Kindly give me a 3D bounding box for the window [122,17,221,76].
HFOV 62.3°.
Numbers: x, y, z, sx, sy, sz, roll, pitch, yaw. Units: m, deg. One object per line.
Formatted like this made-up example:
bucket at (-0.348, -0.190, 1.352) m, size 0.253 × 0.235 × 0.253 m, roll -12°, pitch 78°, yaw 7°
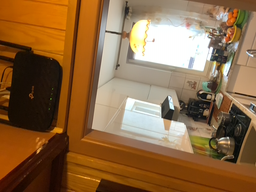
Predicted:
window at (0.750, -0.910, 3.890) m, size 0.230 × 1.600 × 0.750 m, roll -62°, pitch -17°, yaw -72°
